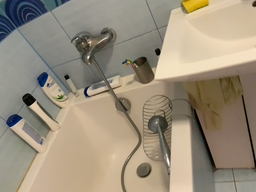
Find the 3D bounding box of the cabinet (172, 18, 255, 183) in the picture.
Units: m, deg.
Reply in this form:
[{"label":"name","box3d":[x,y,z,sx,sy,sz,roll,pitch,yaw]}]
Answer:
[{"label":"cabinet","box3d":[0.490,0.070,0.950,0.380,0.660,0.330,-13,40,25]}]
